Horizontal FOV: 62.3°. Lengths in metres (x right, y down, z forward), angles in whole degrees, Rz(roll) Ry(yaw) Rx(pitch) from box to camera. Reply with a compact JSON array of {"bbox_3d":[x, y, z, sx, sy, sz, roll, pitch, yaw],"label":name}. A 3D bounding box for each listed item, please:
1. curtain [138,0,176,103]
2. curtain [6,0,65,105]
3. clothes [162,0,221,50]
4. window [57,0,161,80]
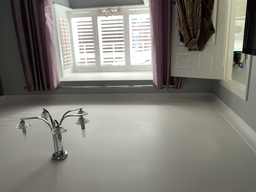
[{"bbox_3d":[0.390,-1.090,2.910,0.490,2.430,0.200,0,-164,7],"label":"curtain"},{"bbox_3d":[-1.370,-0.950,3.120,0.590,2.200,0.240,0,-164,6],"label":"curtain"},{"bbox_3d":[0.740,-1.220,2.460,0.590,1.320,0.320,8,-162,31],"label":"clothes"},{"bbox_3d":[-0.310,-1.100,3.830,1.760,1.600,0.210,0,-165,5],"label":"window"}]
